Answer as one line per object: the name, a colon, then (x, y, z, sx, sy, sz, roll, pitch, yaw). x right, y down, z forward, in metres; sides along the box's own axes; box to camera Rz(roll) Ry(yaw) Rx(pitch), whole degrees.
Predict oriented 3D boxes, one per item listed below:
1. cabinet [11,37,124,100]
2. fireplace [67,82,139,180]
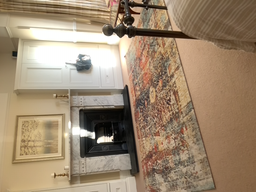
cabinet: (-1.350, -0.620, 5.040, 0.640, 2.310, 1.250, 120, 146, -62)
fireplace: (-0.590, 0.680, 4.330, 0.740, 1.240, 1.770, 120, 146, -62)
